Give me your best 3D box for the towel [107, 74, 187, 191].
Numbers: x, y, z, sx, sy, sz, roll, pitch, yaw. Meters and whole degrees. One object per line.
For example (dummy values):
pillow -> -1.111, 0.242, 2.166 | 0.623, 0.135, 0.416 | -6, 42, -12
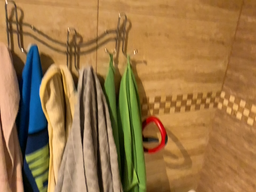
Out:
towel -> 0.040, 0.260, 0.820 | 0.170, 0.660, 0.180 | -4, 22, -24
